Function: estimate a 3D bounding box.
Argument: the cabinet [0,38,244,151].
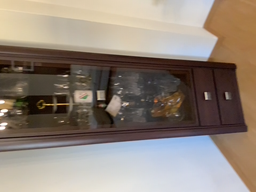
[{"bbox_3d":[-0.090,0.020,1.570,0.450,2.000,0.590,155,113,-64],"label":"cabinet"}]
